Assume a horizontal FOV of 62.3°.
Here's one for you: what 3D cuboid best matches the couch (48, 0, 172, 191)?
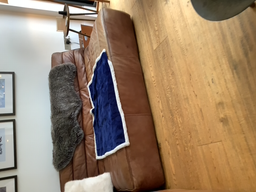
[{"bbox_3d":[-0.370,0.120,2.330,1.150,0.740,1.790,-40,57,58],"label":"couch"}]
